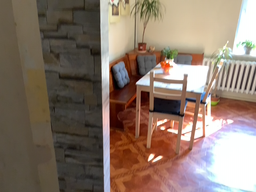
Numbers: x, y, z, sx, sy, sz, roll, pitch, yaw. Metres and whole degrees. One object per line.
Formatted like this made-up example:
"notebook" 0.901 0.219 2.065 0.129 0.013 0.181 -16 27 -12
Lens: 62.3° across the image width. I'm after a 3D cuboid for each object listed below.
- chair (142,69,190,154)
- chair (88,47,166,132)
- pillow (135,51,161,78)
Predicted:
"chair" 0.450 0.170 2.550 0.430 0.860 0.440 8 22 16
"chair" 0.100 -0.260 3.630 0.640 0.850 1.830 10 23 19
"pillow" 0.360 -0.570 3.870 0.380 0.420 0.140 6 12 -12
